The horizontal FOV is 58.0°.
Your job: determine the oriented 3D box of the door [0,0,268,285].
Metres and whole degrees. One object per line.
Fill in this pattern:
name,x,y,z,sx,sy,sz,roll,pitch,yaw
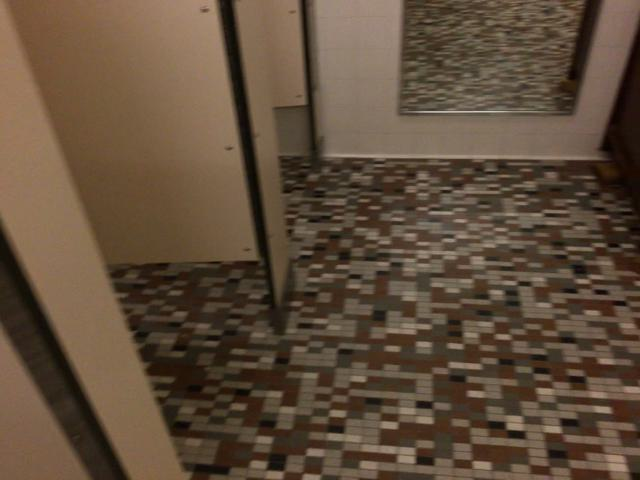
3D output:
door,-0.490,-0.440,0.990,0.650,1.360,0.060,-2,40,3
